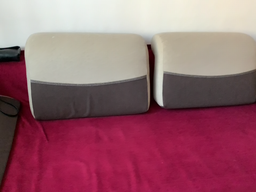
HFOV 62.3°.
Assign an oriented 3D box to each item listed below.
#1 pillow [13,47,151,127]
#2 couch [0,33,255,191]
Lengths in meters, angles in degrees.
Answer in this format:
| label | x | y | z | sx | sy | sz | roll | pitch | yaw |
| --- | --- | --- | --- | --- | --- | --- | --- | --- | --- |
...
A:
| label | x | y | z | sx | sy | sz | roll | pitch | yaw |
| --- | --- | --- | --- | --- | --- | --- | --- | --- | --- |
| pillow | -0.230 | -0.070 | 1.220 | 0.690 | 0.390 | 0.170 | -4 | 18 | -13 |
| couch | 0.140 | 0.190 | 1.270 | 2.120 | 0.820 | 0.960 | -5 | 33 | -13 |
